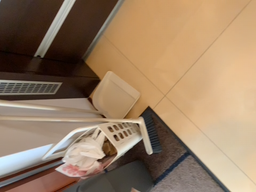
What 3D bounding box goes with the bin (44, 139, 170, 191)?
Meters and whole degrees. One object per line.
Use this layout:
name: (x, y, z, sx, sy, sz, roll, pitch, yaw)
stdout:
bin: (-0.100, 0.470, 0.990, 0.330, 0.530, 0.300, -44, 71, 22)
